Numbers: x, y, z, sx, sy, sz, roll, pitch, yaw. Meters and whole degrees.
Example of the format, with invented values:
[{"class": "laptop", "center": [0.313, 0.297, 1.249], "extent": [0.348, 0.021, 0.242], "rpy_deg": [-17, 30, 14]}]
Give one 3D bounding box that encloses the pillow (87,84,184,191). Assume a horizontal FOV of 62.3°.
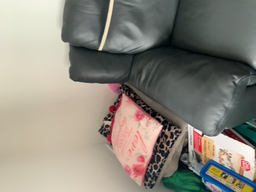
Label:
[{"class": "pillow", "center": [-0.010, 0.240, 1.450], "extent": [0.680, 0.240, 0.470], "rpy_deg": [31, 117, 50]}]
